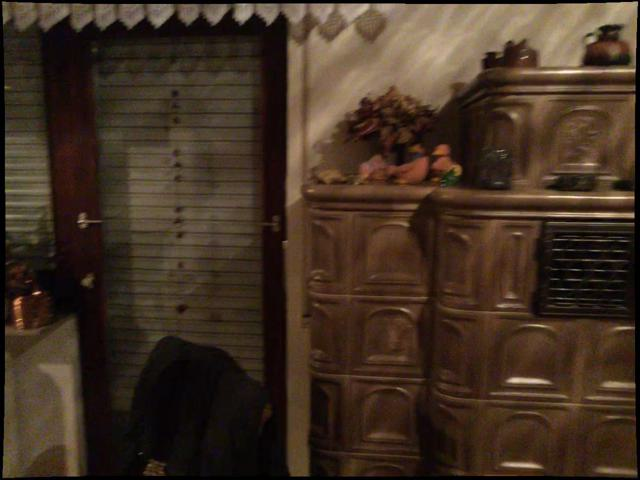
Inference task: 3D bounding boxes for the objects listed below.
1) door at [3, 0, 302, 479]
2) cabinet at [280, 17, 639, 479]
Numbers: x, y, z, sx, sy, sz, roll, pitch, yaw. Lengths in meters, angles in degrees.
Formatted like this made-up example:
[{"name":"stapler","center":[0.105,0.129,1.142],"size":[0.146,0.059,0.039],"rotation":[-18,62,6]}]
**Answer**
[{"name":"door","center":[-0.629,0.090,2.400],"size":[1.049,1.992,0.270],"rotation":[1,10,6]},{"name":"cabinet","center":[0.599,0.340,1.730],"size":[1.259,1.762,0.810],"rotation":[1,11,7]}]
